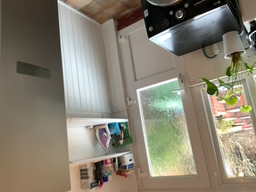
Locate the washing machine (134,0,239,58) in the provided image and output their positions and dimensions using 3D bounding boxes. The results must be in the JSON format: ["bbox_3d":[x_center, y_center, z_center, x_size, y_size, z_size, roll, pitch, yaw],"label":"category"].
[{"bbox_3d":[0.480,-0.900,1.830,0.580,0.840,0.770,-16,166,33],"label":"washing machine"}]

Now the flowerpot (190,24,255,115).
[{"bbox_3d":[0.810,-0.180,1.770,0.350,0.610,0.390,-16,166,32],"label":"flowerpot"}]
